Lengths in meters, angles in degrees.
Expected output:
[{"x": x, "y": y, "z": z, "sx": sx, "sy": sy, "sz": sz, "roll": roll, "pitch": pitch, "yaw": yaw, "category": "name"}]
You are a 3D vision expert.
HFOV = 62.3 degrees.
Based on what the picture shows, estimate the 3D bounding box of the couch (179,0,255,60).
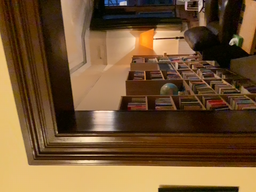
[{"x": 1.430, "y": -1.260, "z": 3.460, "sx": 1.090, "sy": 0.930, "sz": 1.040, "roll": -84, "pitch": -6, "yaw": -62, "category": "couch"}]

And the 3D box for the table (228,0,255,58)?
[{"x": 1.660, "y": -0.900, "z": 2.740, "sx": 0.490, "sy": 0.390, "sz": 0.680, "roll": -85, "pitch": -6, "yaw": -59, "category": "table"}]
